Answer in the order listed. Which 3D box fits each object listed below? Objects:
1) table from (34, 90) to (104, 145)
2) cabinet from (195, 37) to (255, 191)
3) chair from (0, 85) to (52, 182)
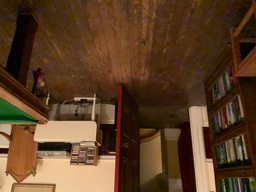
[{"bbox_3d":[-0.890,0.360,3.430,0.880,0.750,0.590,0,159,2],"label":"table"},{"bbox_3d":[1.090,0.550,2.100,0.380,1.920,1.090,1,159,1],"label":"cabinet"},{"bbox_3d":[-1.720,0.580,3.240,0.670,1.330,0.670,0,159,2],"label":"chair"}]
